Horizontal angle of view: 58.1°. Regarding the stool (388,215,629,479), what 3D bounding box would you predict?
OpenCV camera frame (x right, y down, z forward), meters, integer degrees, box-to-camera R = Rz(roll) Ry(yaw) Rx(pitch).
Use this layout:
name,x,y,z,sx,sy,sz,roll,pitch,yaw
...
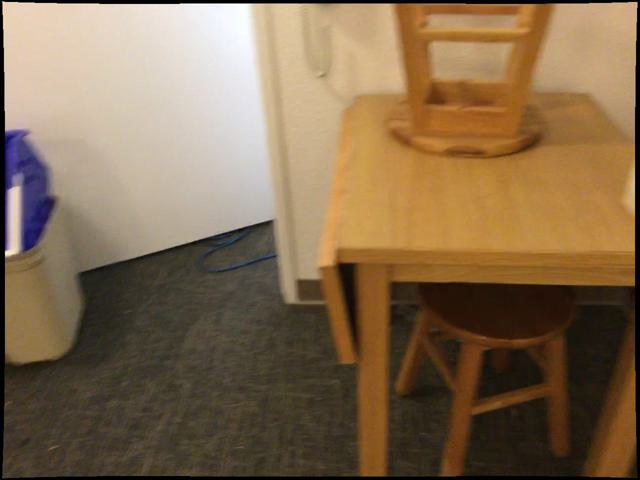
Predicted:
name,x,y,z,sx,sy,sz,roll,pitch,yaw
stool,0.419,0.281,1.510,0.449,0.471,0.520,-2,34,4

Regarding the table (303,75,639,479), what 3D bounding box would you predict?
name,x,y,z,sx,sy,sz,roll,pitch,yaw
table,0.379,0.120,1.470,0.728,0.781,0.841,-2,34,4

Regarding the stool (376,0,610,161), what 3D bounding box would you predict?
name,x,y,z,sx,sy,sz,roll,pitch,yaw
stool,0.339,-0.491,1.280,0.409,0.471,0.420,-2,34,4
